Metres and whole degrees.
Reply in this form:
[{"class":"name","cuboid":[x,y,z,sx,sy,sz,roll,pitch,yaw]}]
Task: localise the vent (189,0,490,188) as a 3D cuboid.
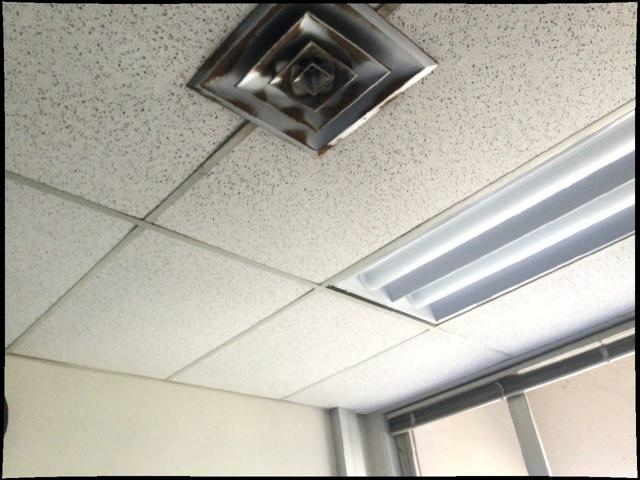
[{"class":"vent","cuboid":[0.030,-0.301,1.090,0.360,0.060,0.440,23,-44,-39]}]
